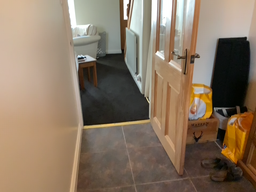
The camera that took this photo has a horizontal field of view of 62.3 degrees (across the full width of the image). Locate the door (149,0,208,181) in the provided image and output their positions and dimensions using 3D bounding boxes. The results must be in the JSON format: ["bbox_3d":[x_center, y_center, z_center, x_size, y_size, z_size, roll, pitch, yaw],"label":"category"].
[{"bbox_3d":[0.360,-0.370,1.780,0.070,1.990,0.880,-4,24,-8],"label":"door"}]

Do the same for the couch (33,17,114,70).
[{"bbox_3d":[-1.300,-1.390,5.310,1.380,0.980,1.270,15,28,30],"label":"couch"}]

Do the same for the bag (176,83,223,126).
[{"bbox_3d":[0.710,0.080,2.160,0.350,0.360,0.250,0,24,1],"label":"bag"}]
